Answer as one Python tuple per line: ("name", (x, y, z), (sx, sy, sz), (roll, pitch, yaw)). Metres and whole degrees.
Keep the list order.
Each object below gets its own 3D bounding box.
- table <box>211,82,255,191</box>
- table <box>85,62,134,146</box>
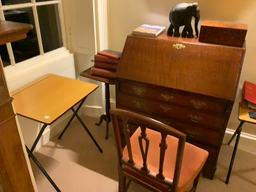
("table", (1.110, 0.410, 1.700), (0.610, 0.770, 0.560), (15, 32, 22))
("table", (-0.180, 0.080, 2.250), (0.320, 0.750, 0.380), (15, 32, 22))
